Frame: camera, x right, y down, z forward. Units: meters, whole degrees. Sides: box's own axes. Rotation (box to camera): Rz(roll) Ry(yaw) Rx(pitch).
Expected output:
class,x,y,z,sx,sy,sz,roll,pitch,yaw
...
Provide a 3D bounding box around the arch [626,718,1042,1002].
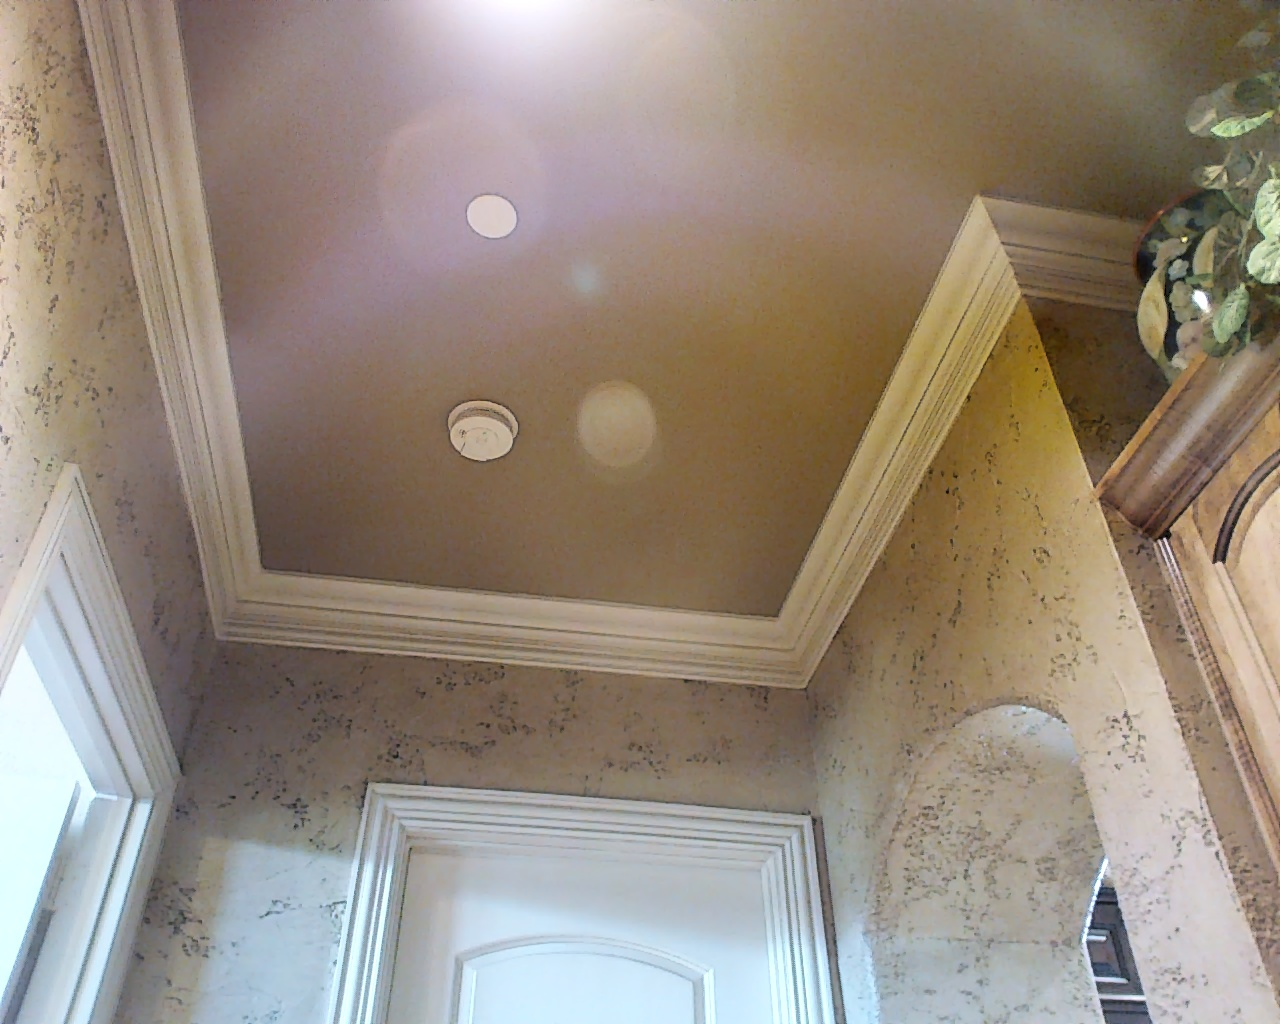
class,x,y,z,sx,sy,sz,roll,pitch,yaw
arch,0.450,0.820,2.400,0.540,0.230,0.890,-25,-46,26
